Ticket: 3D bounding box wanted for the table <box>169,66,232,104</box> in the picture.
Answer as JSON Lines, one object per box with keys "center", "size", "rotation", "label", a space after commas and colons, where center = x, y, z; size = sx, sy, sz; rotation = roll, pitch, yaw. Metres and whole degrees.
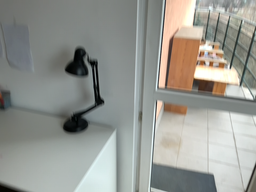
{"center": [1.240, -0.210, 3.690], "size": [0.940, 0.400, 0.430], "rotation": [10, 27, 17], "label": "table"}
